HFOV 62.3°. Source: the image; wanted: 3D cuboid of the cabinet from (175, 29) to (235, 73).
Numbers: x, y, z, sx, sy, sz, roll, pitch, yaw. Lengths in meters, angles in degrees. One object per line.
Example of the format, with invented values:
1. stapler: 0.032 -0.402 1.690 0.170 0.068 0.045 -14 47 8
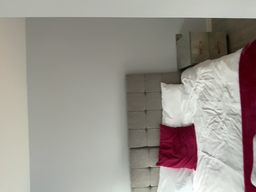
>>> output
1. cabinet: 0.940 -0.540 2.660 0.450 0.540 0.440 167 101 -82

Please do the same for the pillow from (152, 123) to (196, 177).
1. pillow: 0.540 0.610 2.490 0.150 0.480 0.550 9 -99 -62

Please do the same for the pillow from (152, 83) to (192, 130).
1. pillow: 0.530 0.120 2.550 0.120 0.420 0.520 0 -86 -69
